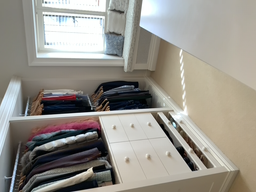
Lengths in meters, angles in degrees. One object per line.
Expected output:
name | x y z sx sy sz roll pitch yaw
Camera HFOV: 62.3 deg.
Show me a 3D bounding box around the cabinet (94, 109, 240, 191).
cabinet | 0.310 0.810 2.520 1.120 1.190 0.780 -123 36 -56
